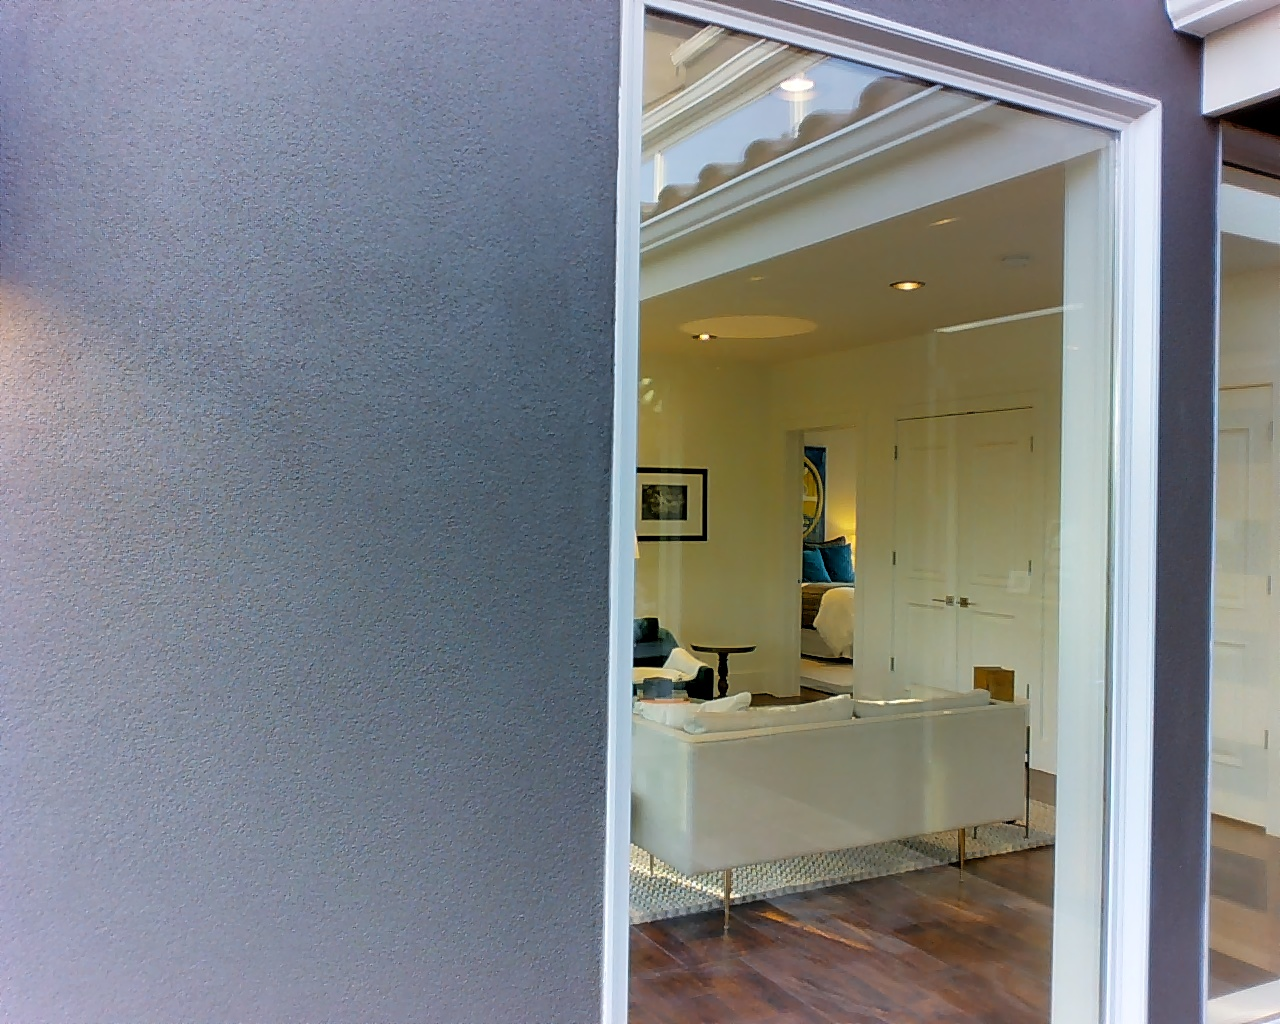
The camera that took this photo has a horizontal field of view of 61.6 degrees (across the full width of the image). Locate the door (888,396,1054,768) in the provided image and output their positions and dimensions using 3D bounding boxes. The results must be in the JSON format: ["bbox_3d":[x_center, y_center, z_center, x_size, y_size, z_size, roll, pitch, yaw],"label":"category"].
[{"bbox_3d":[2.110,0.410,6.990,0.070,2.210,1.350,1,0,-27],"label":"door"}]

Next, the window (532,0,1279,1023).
[{"bbox_3d":[1.200,0.170,2.370,2.970,2.730,0.190,1,0,-27],"label":"window"}]
